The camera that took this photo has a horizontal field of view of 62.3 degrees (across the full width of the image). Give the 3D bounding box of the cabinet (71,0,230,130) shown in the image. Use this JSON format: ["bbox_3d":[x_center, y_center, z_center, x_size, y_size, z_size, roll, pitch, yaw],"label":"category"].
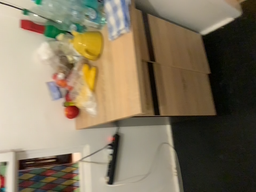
[{"bbox_3d":[0.150,-0.150,1.420,0.560,0.840,0.650,-20,72,48],"label":"cabinet"}]
